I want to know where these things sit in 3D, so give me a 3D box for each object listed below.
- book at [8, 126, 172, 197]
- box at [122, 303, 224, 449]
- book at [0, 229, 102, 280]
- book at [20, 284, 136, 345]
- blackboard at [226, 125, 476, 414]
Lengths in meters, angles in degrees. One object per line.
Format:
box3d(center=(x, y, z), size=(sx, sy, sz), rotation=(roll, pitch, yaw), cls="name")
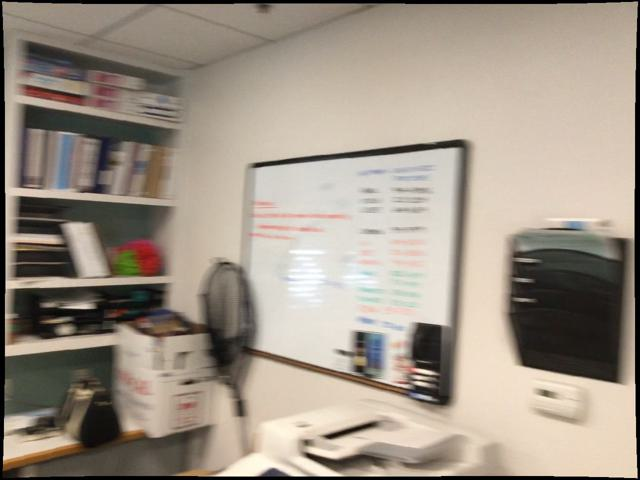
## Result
box3d(center=(-1.149, -0.380, 2.950), size=(0.220, 0.290, 0.750), rotation=(4, 4, 45), cls="book")
box3d(center=(-0.739, 0.651, 2.890), size=(0.350, 0.591, 0.380), rotation=(-1, 4, -43), cls="box")
box3d(center=(-1.369, 0.060, 2.910), size=(0.410, 0.220, 0.340), rotation=(-1, 4, -43), cls="book")
box3d(center=(-1.249, 0.370, 2.990), size=(0.470, 0.220, 0.320), rotation=(-1, 4, -43), cls="book")
box3d(center=(0.030, 0.070, 2.360), size=(0.120, 0.931, 1.269), rotation=(-1, 4, -43), cls="blackboard")
